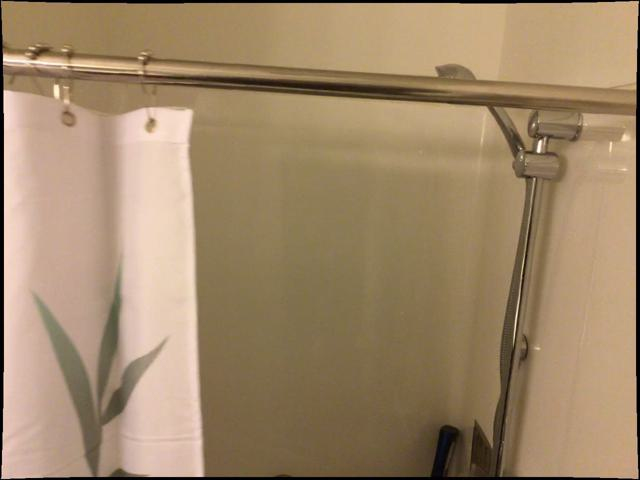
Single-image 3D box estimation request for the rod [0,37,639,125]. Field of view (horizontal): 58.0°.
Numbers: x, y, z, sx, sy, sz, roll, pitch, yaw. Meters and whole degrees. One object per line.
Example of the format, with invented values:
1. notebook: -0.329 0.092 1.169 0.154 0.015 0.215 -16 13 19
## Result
1. rod: -0.030 -0.160 0.590 0.878 0.080 0.040 0 9 1
